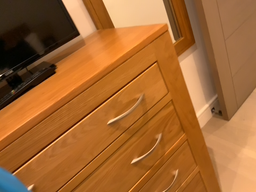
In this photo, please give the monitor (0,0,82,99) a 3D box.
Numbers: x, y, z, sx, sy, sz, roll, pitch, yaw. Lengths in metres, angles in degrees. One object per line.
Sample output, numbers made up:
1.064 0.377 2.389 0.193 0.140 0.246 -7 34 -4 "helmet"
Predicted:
-0.440 -0.170 0.620 0.530 0.360 0.030 -39 32 -22 "monitor"
